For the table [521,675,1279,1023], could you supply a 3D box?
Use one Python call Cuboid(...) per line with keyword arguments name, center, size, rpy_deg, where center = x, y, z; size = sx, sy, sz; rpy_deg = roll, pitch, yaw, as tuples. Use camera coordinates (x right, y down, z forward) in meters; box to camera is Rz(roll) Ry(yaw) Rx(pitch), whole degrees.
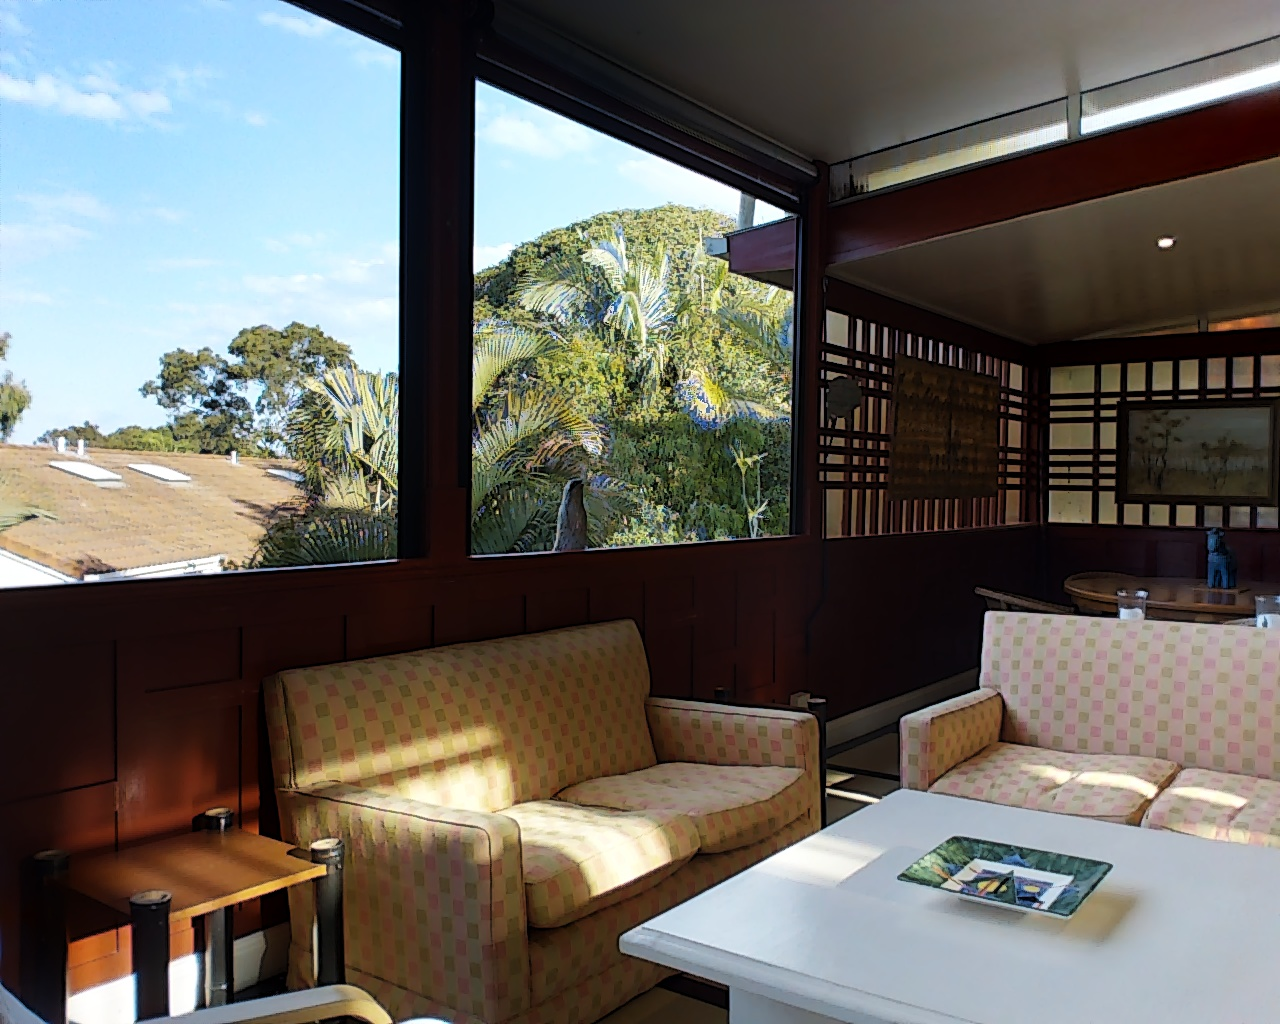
Cuboid(name="table", center=(0.570, 0.860, 2.120), size=(1.549, 0.790, 1.530), rpy_deg=(0, 1, -8))
